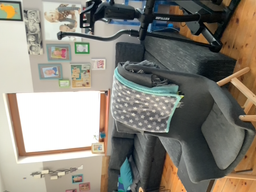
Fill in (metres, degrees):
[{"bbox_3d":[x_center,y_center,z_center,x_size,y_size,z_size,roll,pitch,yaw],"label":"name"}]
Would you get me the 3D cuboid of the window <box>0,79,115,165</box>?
[{"bbox_3d":[-1.240,0.500,4.020,0.270,1.850,1.650,-116,29,-58],"label":"window"}]
